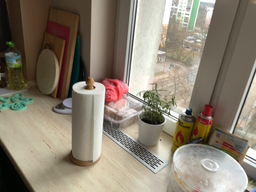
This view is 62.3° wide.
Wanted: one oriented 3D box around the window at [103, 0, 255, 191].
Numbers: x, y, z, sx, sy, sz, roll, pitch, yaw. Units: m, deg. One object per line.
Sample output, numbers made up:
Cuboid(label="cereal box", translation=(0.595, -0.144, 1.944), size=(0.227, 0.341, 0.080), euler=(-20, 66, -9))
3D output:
Cuboid(label="window", translation=(0.530, -0.360, 0.470), size=(0.200, 1.550, 1.530), euler=(-17, 34, -40))

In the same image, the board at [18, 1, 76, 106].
Cuboid(label="board", translation=(-0.440, -0.240, 1.170), size=(0.310, 0.480, 0.150), euler=(28, 33, 37))
